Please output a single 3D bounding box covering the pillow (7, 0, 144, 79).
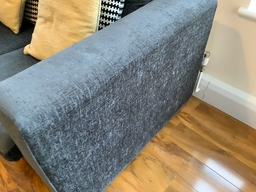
[{"bbox_3d":[-0.240,-0.320,0.870,0.500,0.440,0.150,30,84,30],"label":"pillow"}]
